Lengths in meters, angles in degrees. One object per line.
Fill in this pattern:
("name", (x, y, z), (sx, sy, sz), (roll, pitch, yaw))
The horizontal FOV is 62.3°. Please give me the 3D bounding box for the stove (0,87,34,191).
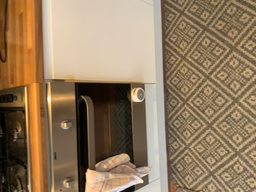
("stove", (-0.580, 0.260, 1.000), (0.560, 0.030, 0.570), (-3, 90, 44))
